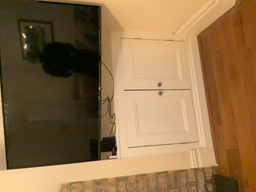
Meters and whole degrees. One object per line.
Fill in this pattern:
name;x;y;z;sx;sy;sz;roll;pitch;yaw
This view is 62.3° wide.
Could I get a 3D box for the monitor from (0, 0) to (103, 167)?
monitor;-0.510;-0.070;1.450;0.040;0.660;1.100;-146;56;-71
